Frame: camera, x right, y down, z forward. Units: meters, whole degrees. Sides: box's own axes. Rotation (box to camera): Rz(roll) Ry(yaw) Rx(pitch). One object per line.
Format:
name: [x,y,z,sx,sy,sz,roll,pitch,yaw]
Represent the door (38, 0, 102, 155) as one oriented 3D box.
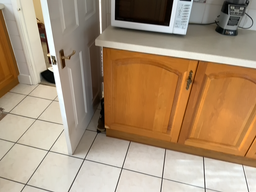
door: [-0.340,-0.550,1.450,0.060,1.930,0.820,9,36,7]
